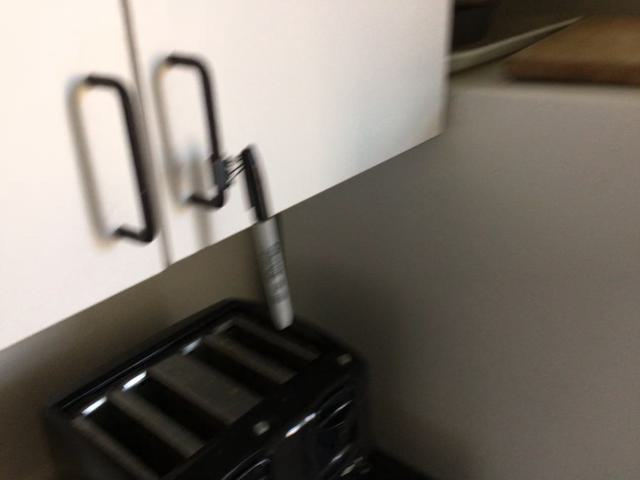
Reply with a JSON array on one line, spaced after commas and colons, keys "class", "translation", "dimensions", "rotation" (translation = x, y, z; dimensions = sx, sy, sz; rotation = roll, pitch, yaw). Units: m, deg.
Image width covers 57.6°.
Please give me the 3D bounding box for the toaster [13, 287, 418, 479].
[{"class": "toaster", "translation": [-0.100, 0.230, 0.640], "dimensions": [0.280, 0.200, 0.300], "rotation": [11, 28, 42]}]
